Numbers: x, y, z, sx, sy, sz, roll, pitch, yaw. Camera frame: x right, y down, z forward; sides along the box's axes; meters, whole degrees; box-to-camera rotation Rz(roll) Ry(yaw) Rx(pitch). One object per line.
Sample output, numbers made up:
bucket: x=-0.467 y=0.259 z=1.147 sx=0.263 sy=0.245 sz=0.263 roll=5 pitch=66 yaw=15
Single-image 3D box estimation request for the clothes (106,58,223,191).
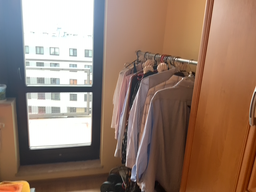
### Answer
clothes: x=0.130 y=0.220 z=1.840 sx=0.440 sy=0.950 sz=1.290 roll=0 pitch=15 yaw=-14
